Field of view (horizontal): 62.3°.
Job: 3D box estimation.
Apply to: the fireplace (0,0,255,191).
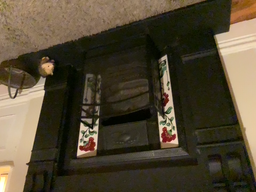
[{"bbox_3d":[-0.010,0.180,1.500,1.650,1.310,0.600,-11,148,18],"label":"fireplace"}]
